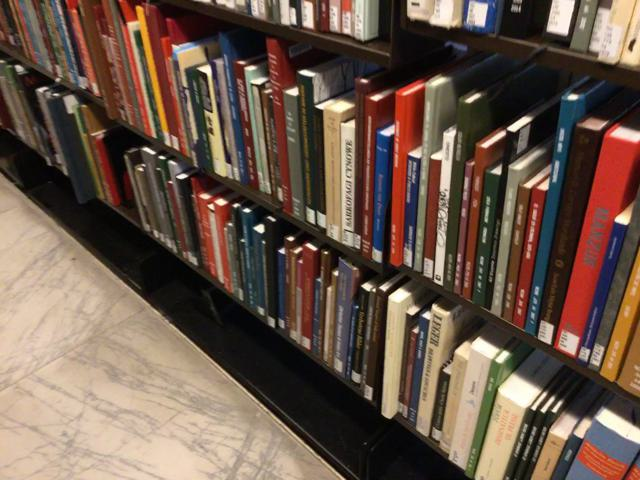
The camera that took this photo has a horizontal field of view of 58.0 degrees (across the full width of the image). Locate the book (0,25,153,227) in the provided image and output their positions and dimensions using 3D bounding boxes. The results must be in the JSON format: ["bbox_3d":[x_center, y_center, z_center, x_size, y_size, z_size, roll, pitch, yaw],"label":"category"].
[{"bbox_3d":[-1.040,-0.480,1.990,1.260,0.410,0.180,28,49,37],"label":"book"}]
